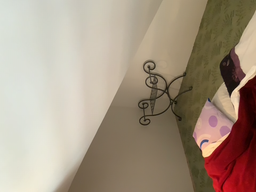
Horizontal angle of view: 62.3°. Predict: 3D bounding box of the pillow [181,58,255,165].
[{"bbox_3d":[0.600,0.140,1.560,0.370,0.170,0.720,-91,6,-50],"label":"pillow"}]
